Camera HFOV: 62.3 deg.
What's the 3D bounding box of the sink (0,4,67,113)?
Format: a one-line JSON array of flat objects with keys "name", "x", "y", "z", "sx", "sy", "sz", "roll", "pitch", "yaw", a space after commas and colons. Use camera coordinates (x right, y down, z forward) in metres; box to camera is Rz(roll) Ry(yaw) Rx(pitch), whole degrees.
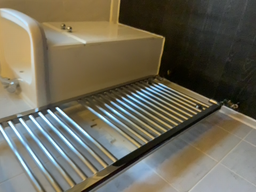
[{"name": "sink", "x": -0.540, "y": -0.230, "z": 1.160, "sx": 0.520, "sy": 0.160, "sz": 0.430, "roll": 31, "pitch": 126, "yaw": 37}]
